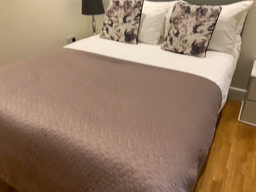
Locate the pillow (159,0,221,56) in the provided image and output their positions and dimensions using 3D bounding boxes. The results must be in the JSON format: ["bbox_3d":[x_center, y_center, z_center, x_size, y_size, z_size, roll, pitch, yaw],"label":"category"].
[{"bbox_3d":[0.510,-0.560,1.740,0.370,0.410,0.130,1,41,43],"label":"pillow"}]

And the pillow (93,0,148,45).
[{"bbox_3d":[-0.070,-0.720,2.030,0.410,0.370,0.120,-1,38,39],"label":"pillow"}]
